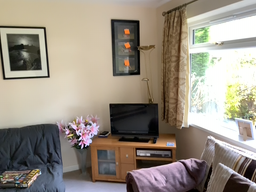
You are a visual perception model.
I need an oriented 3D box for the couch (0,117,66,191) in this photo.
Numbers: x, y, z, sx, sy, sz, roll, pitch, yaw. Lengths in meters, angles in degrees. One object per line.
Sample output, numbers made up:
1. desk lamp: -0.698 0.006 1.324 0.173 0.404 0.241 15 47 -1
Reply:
1. couch: -1.240 0.820 2.460 0.920 0.800 1.100 -5 10 -19
